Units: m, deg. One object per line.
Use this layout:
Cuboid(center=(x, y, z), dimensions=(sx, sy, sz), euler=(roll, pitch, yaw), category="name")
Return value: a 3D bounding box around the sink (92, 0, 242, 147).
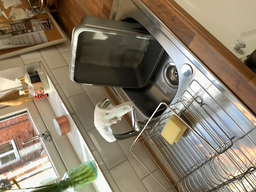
Cuboid(center=(0.090, -0.130, 0.930), dimensions=(0.490, 0.190, 0.520), euler=(54, 144, 22), category="sink")
